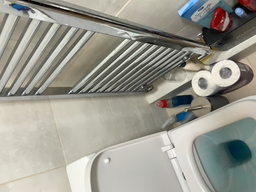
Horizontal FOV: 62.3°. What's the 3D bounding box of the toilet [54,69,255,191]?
[{"bbox_3d":[0.290,0.260,0.790,0.630,0.810,0.410,-34,70,39],"label":"toilet"}]
